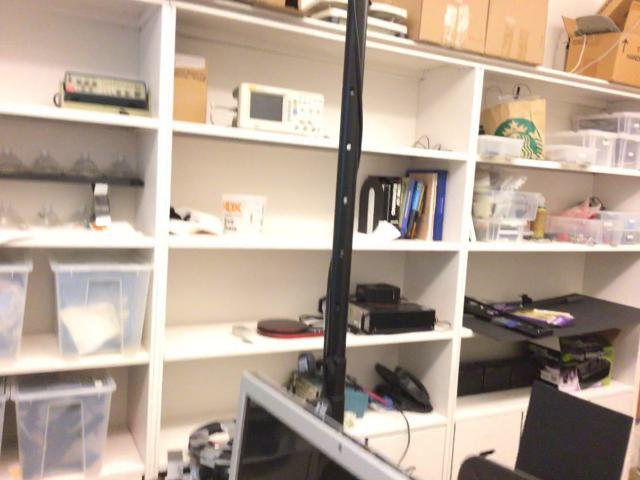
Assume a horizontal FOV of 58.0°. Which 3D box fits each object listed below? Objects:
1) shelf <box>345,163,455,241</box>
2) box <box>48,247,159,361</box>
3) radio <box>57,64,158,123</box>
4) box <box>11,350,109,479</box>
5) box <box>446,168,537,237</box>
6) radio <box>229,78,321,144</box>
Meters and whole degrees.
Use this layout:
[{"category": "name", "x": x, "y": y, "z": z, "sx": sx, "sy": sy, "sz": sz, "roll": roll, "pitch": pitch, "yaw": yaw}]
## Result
[{"category": "shelf", "x": 0.330, "y": -0.160, "z": 2.390, "sx": 0.400, "sy": 0.300, "sz": 0.210, "roll": -3, "pitch": 5, "yaw": -27}, {"category": "box", "x": -0.690, "y": 0.180, "z": 1.820, "sx": 0.280, "sy": 0.280, "sz": 0.340, "roll": -3, "pitch": 5, "yaw": -27}, {"category": "radio", "x": -0.670, "y": -0.450, "z": 1.810, "sx": 0.260, "sy": 0.120, "sz": 0.280, "roll": -3, "pitch": 5, "yaw": -27}, {"category": "box", "x": -0.810, "y": 0.550, "z": 1.790, "sx": 0.240, "sy": 0.310, "sz": 0.350, "roll": -3, "pitch": 5, "yaw": -27}, {"category": "box", "x": 0.720, "y": -0.160, "z": 2.430, "sx": 0.310, "sy": 0.270, "sz": 0.200, "roll": -3, "pitch": 5, "yaw": -27}, {"category": "radio", "x": -0.150, "y": -0.430, "z": 1.960, "sx": 0.280, "sy": 0.190, "sz": 0.130, "roll": -3, "pitch": 5, "yaw": -27}]
